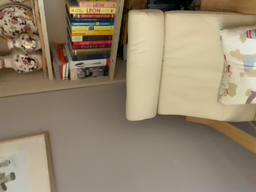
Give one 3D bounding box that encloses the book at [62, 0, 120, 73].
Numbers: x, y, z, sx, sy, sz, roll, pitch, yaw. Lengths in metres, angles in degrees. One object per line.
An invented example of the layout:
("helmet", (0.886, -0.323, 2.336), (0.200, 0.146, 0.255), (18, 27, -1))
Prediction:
("book", (-0.240, -0.490, 1.320), (0.270, 0.280, 0.620), (-120, 29, -44))
